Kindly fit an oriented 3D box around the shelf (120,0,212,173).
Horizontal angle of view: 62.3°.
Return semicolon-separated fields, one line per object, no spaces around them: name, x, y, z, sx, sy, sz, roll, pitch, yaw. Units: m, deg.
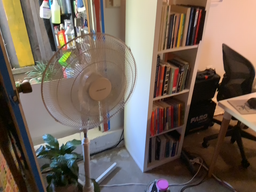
shelf;0.240;-0.110;1.730;0.460;1.470;0.400;-14;33;-24
